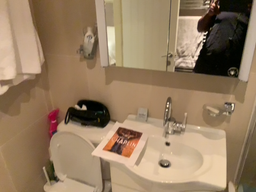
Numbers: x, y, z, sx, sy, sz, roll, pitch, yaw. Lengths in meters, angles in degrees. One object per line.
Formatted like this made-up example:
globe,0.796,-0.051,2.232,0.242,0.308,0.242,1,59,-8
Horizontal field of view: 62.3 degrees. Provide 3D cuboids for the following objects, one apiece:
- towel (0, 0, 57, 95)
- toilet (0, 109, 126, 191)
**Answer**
towel,-0.580,-0.280,0.990,0.110,0.470,0.490,10,28,21
toilet,-0.350,0.620,1.340,0.440,0.790,0.680,9,28,20
